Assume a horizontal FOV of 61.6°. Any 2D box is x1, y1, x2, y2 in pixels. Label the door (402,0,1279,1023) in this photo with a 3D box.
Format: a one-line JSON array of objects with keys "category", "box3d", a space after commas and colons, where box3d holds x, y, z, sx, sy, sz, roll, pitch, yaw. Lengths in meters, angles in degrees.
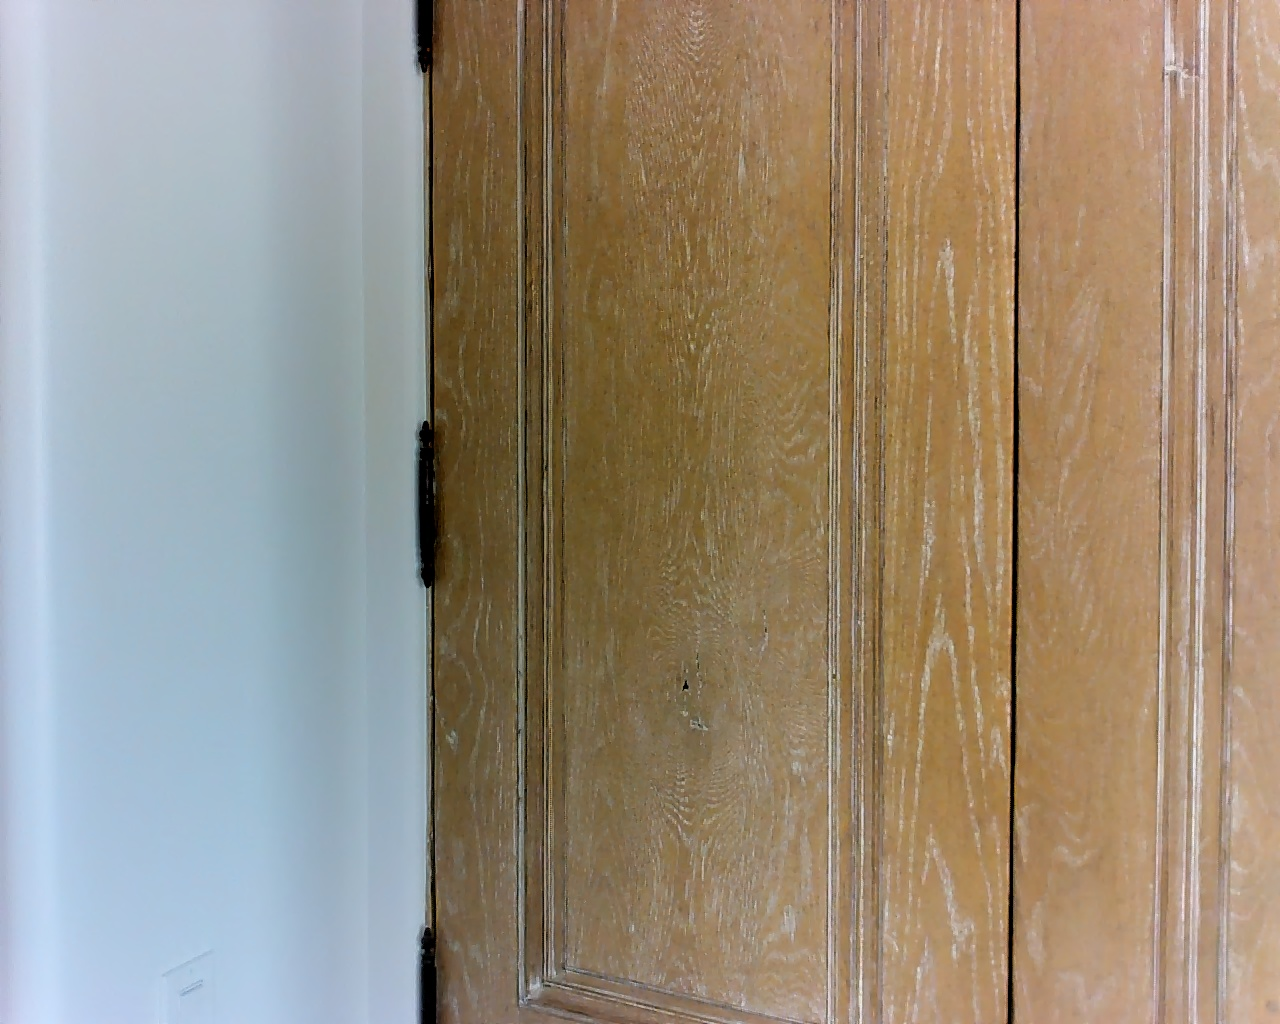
[{"category": "door", "box3d": [0.380, 0.360, 1.020, 1.450, 2.511, 0.070, 1, 2, 26]}]
